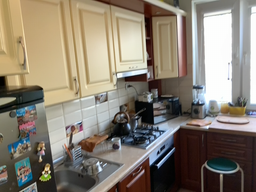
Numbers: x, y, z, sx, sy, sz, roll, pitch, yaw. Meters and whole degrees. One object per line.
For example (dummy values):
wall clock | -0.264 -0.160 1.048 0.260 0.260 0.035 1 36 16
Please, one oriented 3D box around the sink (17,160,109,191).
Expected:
sink | -0.430 0.650 1.450 0.430 0.190 0.400 2 11 32
